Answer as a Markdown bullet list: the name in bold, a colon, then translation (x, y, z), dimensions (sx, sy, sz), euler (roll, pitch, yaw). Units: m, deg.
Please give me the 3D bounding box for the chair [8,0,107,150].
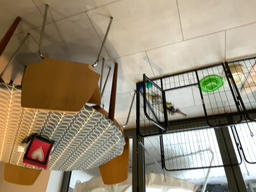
- **chair**: translation (-0.380, -0.160, 1.350), dimensions (0.360, 0.850, 0.420), euler (9, 142, -11)
